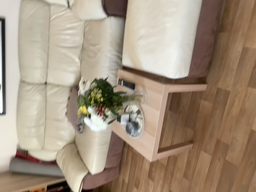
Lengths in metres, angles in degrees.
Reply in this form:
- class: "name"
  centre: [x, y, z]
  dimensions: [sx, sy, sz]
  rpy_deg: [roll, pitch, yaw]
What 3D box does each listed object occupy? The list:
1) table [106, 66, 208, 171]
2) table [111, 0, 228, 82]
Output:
- class: "table"
  centre: [0.200, 0.120, 1.740]
  dimensions: [0.590, 0.470, 0.640]
  rpy_deg: [23, 111, 51]
- class: "table"
  centre: [0.270, -0.500, 1.560]
  dimensions: [0.600, 0.490, 0.670]
  rpy_deg: [26, 113, 50]
